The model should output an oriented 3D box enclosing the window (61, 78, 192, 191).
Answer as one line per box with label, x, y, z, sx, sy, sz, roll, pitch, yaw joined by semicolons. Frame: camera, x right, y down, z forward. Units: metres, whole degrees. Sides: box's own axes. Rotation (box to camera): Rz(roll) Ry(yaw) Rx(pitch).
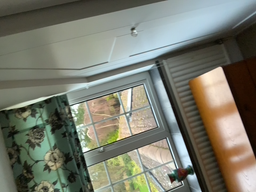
window;0.070;0.720;1.890;0.070;0.870;1.610;135;117;-76
